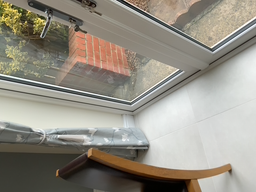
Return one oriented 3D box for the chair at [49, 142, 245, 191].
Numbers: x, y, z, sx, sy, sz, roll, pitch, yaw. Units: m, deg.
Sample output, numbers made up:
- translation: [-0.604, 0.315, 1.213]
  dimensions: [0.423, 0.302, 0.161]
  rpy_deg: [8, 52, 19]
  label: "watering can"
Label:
- translation: [0.160, 0.560, 1.000]
  dimensions: [0.400, 0.920, 0.540]
  rpy_deg: [-37, 52, 41]
  label: "chair"
